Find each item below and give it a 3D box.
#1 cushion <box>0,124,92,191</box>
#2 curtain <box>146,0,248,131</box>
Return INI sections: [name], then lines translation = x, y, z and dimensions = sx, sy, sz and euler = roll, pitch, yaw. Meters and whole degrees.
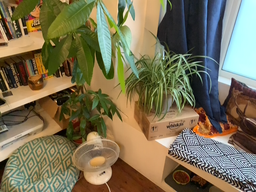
[cushion]
translation = -0.660, 0.540, 1.640
dimensions = 0.590, 0.240, 0.480
euler = -20, 39, -33
[curtain]
translation = 0.500, -0.760, 1.320
dimensions = 0.410, 2.050, 0.420
euler = -25, 41, -38
